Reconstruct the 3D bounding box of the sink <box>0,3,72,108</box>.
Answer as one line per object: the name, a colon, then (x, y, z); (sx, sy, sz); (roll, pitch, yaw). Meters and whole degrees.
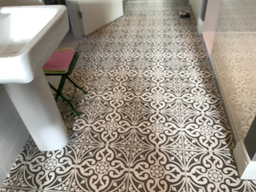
sink: (-0.570, -0.230, 1.010); (0.400, 0.200, 0.590); (1, 42, 7)
